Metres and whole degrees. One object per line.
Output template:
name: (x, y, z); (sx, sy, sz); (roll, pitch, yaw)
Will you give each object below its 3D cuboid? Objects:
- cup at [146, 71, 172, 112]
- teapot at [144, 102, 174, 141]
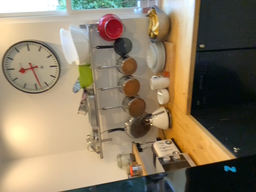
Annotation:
cup: (0.260, -0.040, 1.820); (0.180, 0.160, 0.290); (-119, 24, -64)
teapot: (0.280, 0.230, 1.960); (0.250, 0.200, 0.250); (-125, 30, -69)
